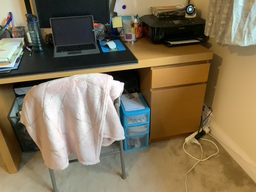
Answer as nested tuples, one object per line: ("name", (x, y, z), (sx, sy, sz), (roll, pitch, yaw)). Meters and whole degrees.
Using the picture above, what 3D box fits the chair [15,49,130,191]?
("chair", (-0.290, 0.170, 1.330), (0.480, 0.750, 0.530), (-8, 30, -12))

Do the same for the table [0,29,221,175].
("table", (-0.190, -0.040, 1.660), (1.460, 0.710, 0.660), (-8, 30, -11))
